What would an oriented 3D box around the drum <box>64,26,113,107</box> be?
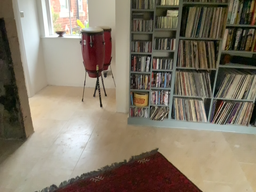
[{"bbox_3d":[-0.590,-0.540,3.570,0.500,1.140,0.890,4,23,7],"label":"drum"}]
